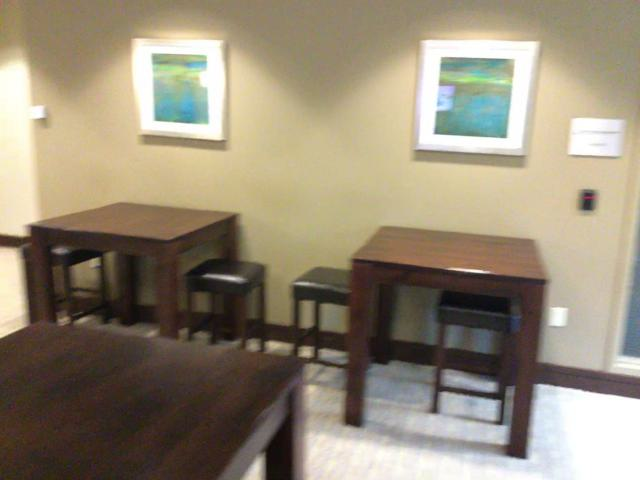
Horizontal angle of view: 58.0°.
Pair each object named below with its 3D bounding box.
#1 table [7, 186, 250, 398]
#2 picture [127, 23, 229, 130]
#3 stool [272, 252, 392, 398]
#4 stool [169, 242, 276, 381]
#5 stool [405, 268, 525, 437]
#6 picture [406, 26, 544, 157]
[{"bbox_3d":[-1.130,0.240,3.640,1.040,0.960,0.980,7,13,15],"label":"table"},{"bbox_3d":[-0.920,-1.050,3.730,0.650,0.630,0.130,7,13,15],"label":"picture"},{"bbox_3d":[0.090,0.480,3.530,0.560,0.640,0.610,7,13,15],"label":"stool"},{"bbox_3d":[-0.600,0.420,3.630,0.460,0.670,0.560,7,13,15],"label":"stool"},{"bbox_3d":[0.800,0.580,3.200,0.520,0.650,0.650,7,13,15],"label":"stool"},{"bbox_3d":[0.850,-0.830,3.240,0.660,0.670,0.140,7,13,15],"label":"picture"}]
